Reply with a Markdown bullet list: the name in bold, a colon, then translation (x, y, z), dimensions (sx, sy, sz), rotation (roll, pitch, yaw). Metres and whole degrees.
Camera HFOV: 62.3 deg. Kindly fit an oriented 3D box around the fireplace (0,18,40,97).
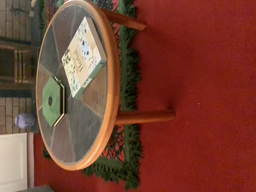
- **fireplace**: translation (-1.510, -0.390, 2.410), dimensions (0.730, 0.740, 0.760), rotation (-4, 85, 49)
